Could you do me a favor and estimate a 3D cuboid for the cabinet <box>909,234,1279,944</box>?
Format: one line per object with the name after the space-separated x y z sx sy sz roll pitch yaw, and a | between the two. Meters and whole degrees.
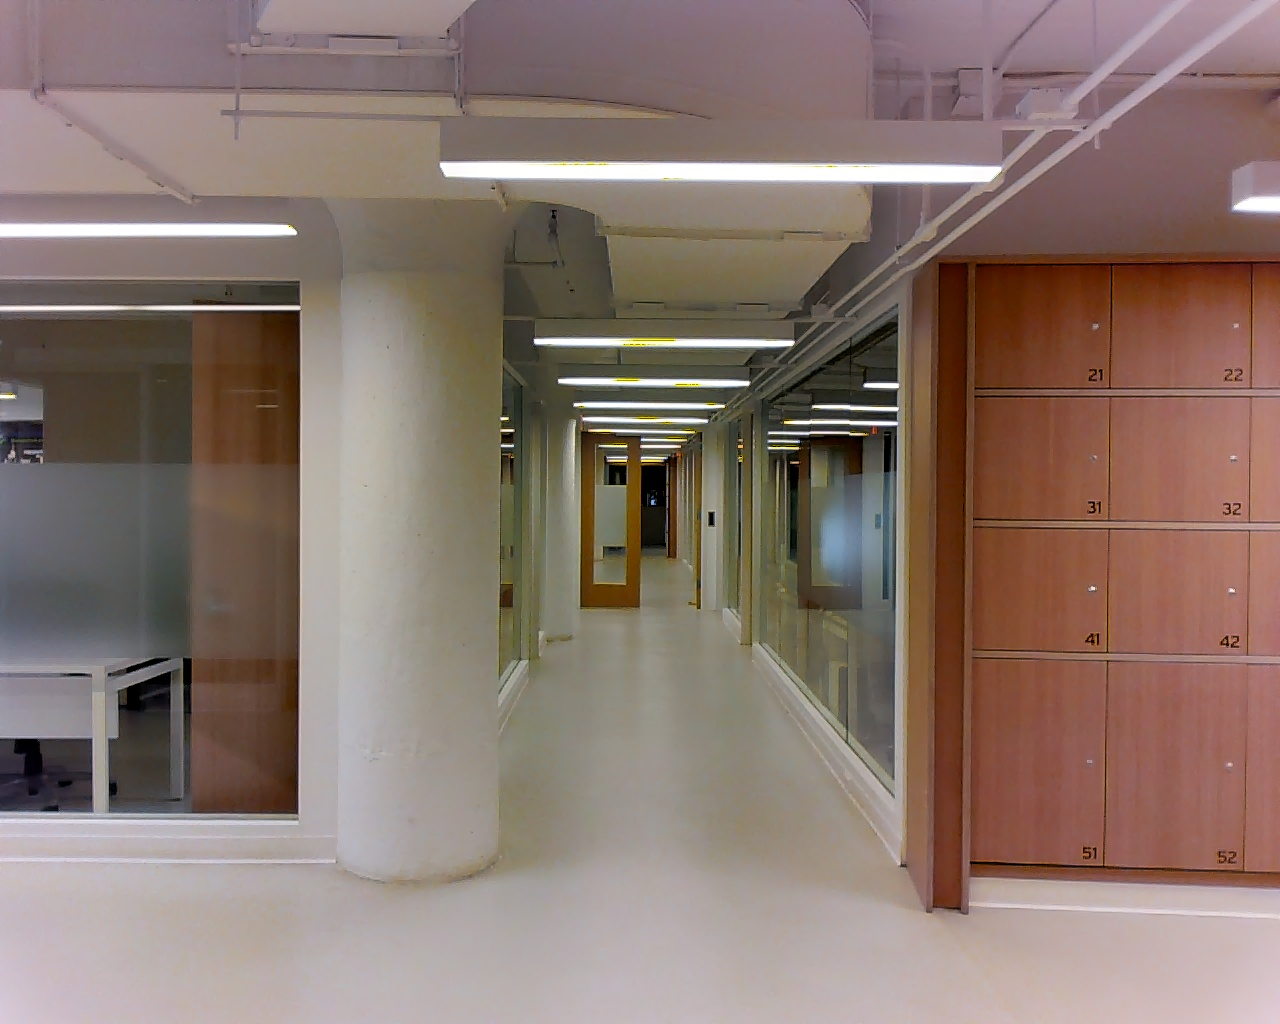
2.259 0.260 3.650 2.599 2.371 0.160 0 0 3 | cabinet
